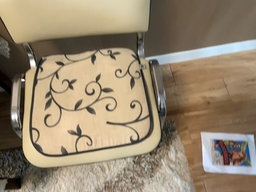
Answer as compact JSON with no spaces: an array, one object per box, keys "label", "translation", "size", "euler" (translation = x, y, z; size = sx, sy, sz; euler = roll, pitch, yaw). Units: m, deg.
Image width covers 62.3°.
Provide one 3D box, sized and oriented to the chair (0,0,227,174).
[{"label":"chair","translation":[-0.140,-0.050,0.810],"size":[0.490,0.820,0.550],"euler":[-10,69,-6]}]
